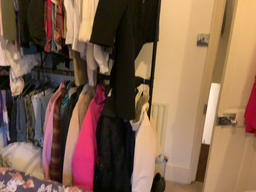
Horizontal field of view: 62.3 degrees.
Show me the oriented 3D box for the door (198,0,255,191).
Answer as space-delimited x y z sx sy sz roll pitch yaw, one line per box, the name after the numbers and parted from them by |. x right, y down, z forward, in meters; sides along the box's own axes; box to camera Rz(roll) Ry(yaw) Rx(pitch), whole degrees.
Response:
1.050 0.050 1.670 0.740 1.920 0.060 0 20 -8 | door
